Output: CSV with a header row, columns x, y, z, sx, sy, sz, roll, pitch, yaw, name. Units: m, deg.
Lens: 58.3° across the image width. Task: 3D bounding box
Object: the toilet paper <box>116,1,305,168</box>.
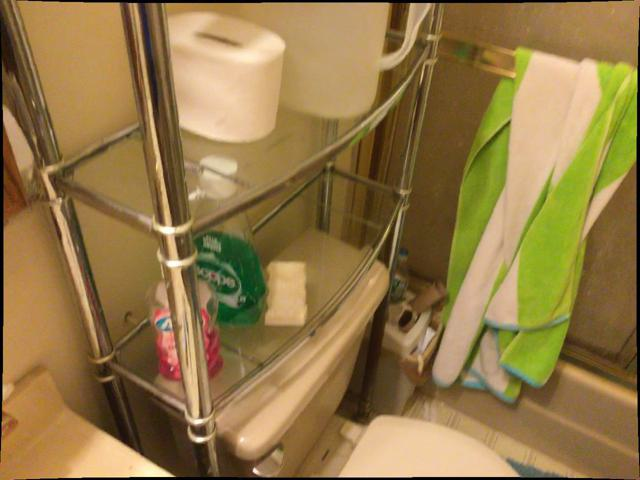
x,y,z,sx,sy,sz,roll,pitch,yaw,name
-0.130,-0.200,0.720,0.170,0.120,0.140,22,44,20,toilet paper
